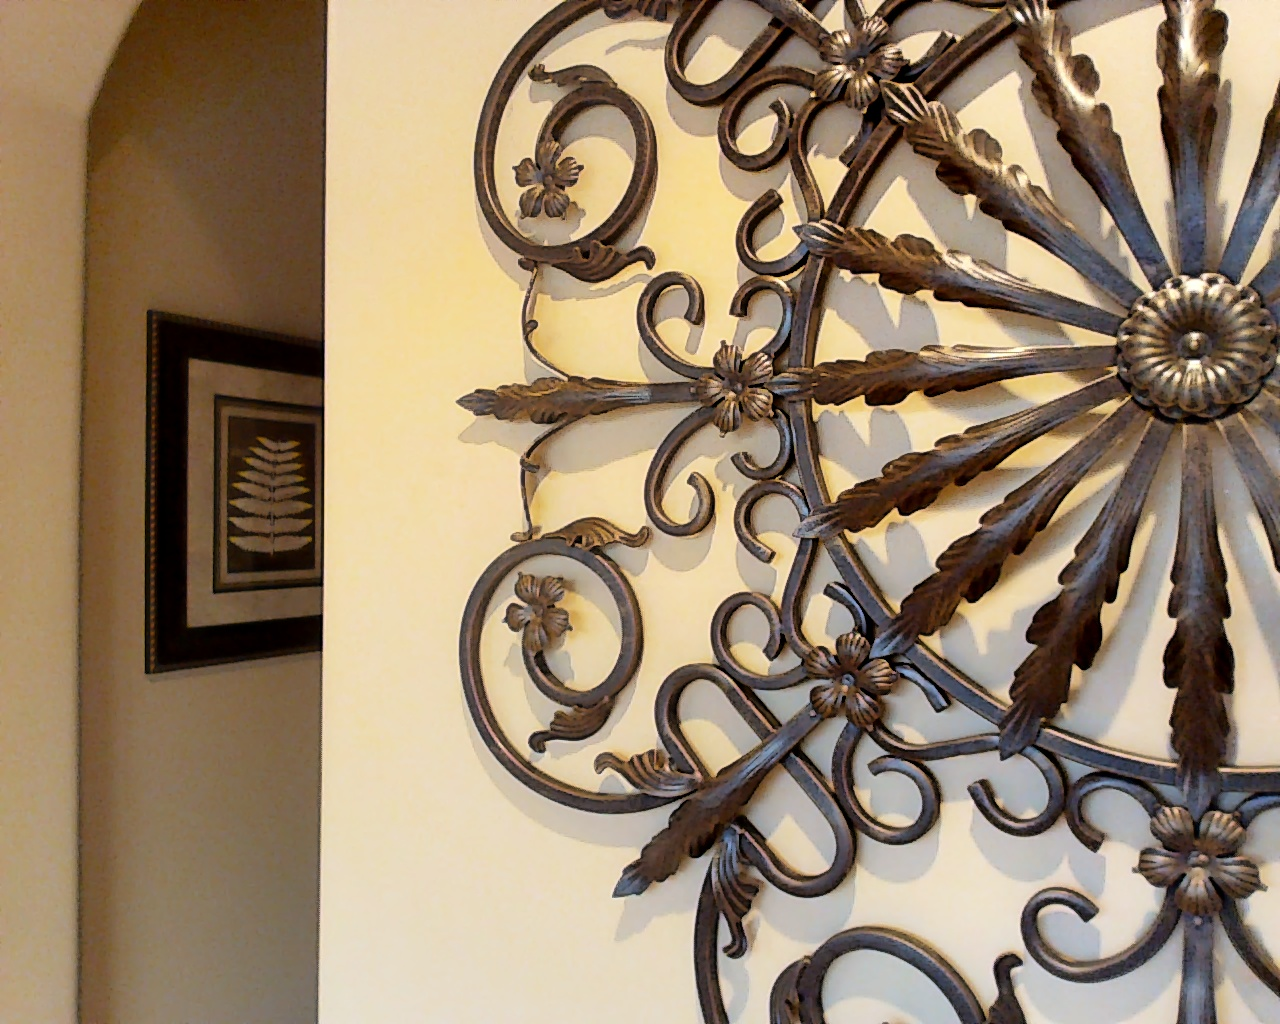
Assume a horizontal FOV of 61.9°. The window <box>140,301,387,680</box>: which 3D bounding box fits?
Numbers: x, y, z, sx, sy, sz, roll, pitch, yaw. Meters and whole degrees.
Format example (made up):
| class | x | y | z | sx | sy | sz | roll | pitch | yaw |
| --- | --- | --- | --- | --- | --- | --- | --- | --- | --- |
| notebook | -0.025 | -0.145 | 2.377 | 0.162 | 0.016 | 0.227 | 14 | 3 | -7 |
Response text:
| class | x | y | z | sx | sy | sz | roll | pitch | yaw |
| --- | --- | --- | --- | --- | --- | --- | --- | --- | --- |
| window | -0.840 | -0.040 | 2.470 | 0.060 | 0.770 | 0.660 | -1 | -1 | 30 |
